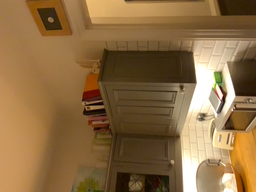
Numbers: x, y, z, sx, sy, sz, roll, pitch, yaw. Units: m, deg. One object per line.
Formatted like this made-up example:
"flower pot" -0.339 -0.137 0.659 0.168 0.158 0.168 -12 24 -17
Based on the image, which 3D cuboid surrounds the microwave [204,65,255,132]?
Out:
"microwave" 0.880 0.050 1.760 0.640 0.320 0.230 83 -170 -55
